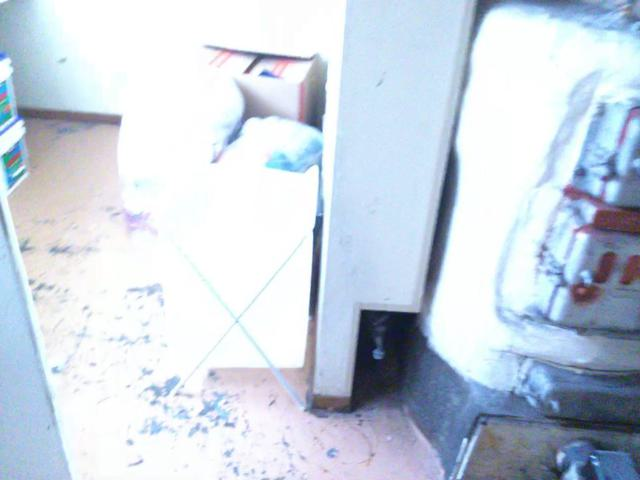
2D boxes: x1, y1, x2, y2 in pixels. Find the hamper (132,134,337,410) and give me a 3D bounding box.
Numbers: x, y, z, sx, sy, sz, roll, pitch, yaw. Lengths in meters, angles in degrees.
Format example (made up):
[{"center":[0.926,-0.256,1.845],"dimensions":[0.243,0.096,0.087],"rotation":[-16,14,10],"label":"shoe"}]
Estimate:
[{"center":[-0.220,0.090,1.760],"dimensions":[0.490,0.650,0.480],"rotation":[4,32,-1],"label":"hamper"}]
